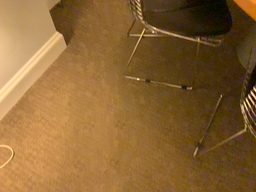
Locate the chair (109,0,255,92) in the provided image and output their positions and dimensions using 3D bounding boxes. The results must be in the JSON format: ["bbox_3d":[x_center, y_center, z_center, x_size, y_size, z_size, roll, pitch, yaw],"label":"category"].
[{"bbox_3d":[0.230,-0.430,1.100,0.590,0.710,0.440,-11,65,-8],"label":"chair"}]
